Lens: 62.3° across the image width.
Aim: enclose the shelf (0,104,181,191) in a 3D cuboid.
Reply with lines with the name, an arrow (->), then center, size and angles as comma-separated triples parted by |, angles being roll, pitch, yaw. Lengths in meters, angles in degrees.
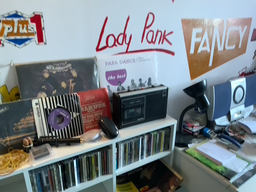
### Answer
shelf -> -0.240, 0.580, 1.030 | 1.030, 0.900, 0.190 | -11, 24, -28
